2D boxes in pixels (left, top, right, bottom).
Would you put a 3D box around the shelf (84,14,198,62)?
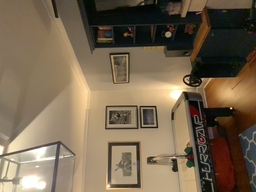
[{"bbox_3d":[0.160,-0.790,2.990,0.610,1.420,0.320,91,177,-67],"label":"shelf"}]
